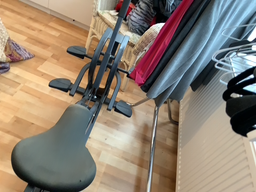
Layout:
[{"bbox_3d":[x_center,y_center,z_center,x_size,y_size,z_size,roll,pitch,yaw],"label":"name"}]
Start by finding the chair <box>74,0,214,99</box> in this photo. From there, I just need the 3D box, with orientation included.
[{"bbox_3d":[0.080,-0.590,1.820,0.650,0.830,0.690,-26,63,-42],"label":"chair"}]
